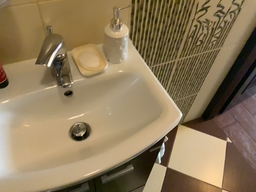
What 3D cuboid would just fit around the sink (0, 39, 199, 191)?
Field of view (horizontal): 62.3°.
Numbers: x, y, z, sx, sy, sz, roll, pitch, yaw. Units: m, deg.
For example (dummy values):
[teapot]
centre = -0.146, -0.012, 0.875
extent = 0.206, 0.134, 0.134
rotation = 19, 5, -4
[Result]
[sink]
centre = -0.140, 0.050, 0.600
extent = 0.520, 0.130, 0.370
rotation = -16, 55, -18
